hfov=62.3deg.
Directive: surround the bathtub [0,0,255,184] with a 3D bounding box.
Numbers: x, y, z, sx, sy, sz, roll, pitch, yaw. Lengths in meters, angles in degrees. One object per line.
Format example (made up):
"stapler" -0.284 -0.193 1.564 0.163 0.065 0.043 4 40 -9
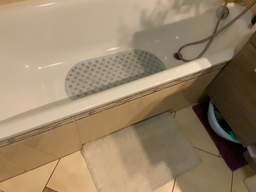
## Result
"bathtub" -0.080 -0.200 1.280 1.680 0.540 0.690 -20 65 -18
